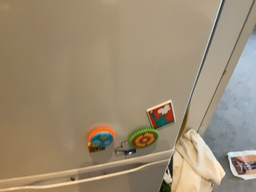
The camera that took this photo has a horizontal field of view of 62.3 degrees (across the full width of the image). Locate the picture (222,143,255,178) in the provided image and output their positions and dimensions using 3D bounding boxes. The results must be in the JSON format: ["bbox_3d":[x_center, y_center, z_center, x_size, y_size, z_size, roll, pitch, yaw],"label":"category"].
[{"bbox_3d":[0.880,0.460,1.540,0.290,0.040,0.240,-3,43,-8],"label":"picture"}]
